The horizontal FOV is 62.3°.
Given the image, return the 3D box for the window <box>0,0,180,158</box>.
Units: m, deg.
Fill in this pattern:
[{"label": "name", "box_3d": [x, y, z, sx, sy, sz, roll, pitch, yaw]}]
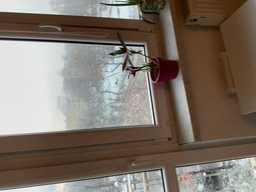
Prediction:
[{"label": "window", "box_3d": [-0.530, -0.690, 1.380, 0.160, 1.430, 2.060, 128, 138, -65]}]
